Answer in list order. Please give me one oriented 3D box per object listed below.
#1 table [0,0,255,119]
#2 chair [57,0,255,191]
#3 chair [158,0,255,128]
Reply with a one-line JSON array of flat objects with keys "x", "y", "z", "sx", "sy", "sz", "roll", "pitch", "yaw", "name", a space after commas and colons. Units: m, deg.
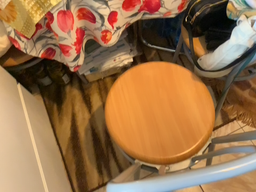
[{"x": 0.020, "y": -0.500, "z": 1.060, "sx": 1.130, "sy": 0.750, "sz": 0.600, "roll": -24, "pitch": 66, "yaw": -8, "name": "table"}, {"x": 0.110, "y": 0.070, "z": 0.750, "sx": 0.390, "sy": 0.810, "sz": 0.440, "roll": -16, "pitch": 65, "yaw": -4, "name": "chair"}, {"x": 0.420, "y": -0.240, "z": 0.890, "sx": 0.370, "sy": 0.810, "sz": 0.410, "roll": -26, "pitch": 66, "yaw": -9, "name": "chair"}]
